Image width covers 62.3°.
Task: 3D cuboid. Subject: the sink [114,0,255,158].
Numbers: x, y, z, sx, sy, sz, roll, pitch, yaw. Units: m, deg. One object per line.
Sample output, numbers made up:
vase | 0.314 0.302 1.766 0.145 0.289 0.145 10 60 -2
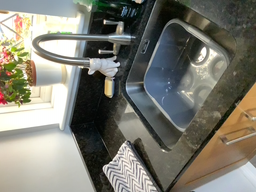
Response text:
sink | 0.190 -0.090 0.790 0.390 0.230 0.450 54 136 37
